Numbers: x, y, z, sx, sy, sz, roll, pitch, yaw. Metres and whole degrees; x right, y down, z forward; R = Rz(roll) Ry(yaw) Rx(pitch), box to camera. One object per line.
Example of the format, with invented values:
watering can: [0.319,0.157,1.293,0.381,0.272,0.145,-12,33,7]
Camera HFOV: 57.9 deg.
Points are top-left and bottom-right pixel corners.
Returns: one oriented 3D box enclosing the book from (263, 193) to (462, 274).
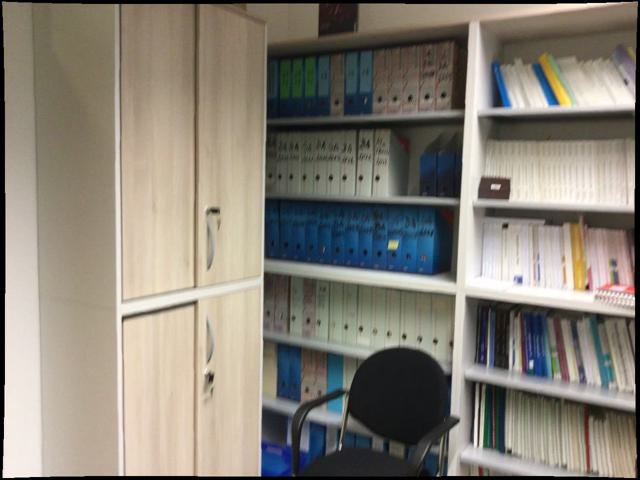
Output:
book: [0.190,-0.060,2.940,0.979,0.330,0.290,4,8,32]

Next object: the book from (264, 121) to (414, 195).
book: [0.090,-0.420,3.000,0.729,0.340,0.280,4,8,31]

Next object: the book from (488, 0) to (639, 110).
book: [1.289,-0.731,2.240,1.179,0.360,0.300,4,8,31]

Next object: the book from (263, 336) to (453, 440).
book: [0.150,0.711,2.880,1.019,0.300,0.080,4,8,32]

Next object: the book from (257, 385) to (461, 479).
book: [0.170,1.041,2.980,1.049,0.310,0.250,4,8,31]

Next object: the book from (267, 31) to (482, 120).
book: [0.240,-0.791,2.880,1.049,0.310,0.270,4,8,31]

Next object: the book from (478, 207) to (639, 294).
book: [1.249,0.040,2.300,1.149,0.290,0.300,4,8,31]

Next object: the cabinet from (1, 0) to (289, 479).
cabinet: [-0.609,0.170,2.320,0.530,2.302,0.920,4,8,31]

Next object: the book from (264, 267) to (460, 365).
book: [0.160,0.350,2.850,1.059,0.340,0.040,4,8,31]

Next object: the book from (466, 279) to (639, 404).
book: [1.229,0.410,2.310,1.169,0.330,0.420,4,8,32]

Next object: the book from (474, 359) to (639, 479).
book: [1.099,0.761,2.470,0.789,0.300,0.290,4,8,31]

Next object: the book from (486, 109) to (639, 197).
book: [1.289,-0.340,2.290,1.179,0.330,0.250,4,8,32]

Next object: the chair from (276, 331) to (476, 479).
chair: [0.250,0.721,2.320,0.530,0.480,0.710,4,8,31]

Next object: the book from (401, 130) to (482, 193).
book: [0.569,-0.360,2.690,0.280,0.270,0.290,4,8,31]
